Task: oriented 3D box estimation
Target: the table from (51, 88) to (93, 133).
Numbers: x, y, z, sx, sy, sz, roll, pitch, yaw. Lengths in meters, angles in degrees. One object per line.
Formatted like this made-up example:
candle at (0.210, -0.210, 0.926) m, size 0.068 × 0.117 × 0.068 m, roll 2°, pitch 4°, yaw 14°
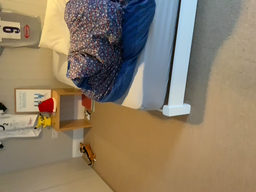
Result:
table at (-0.790, 0.180, 2.970) m, size 0.270 × 0.490 × 0.550 m, roll 17°, pitch 107°, yaw 53°
